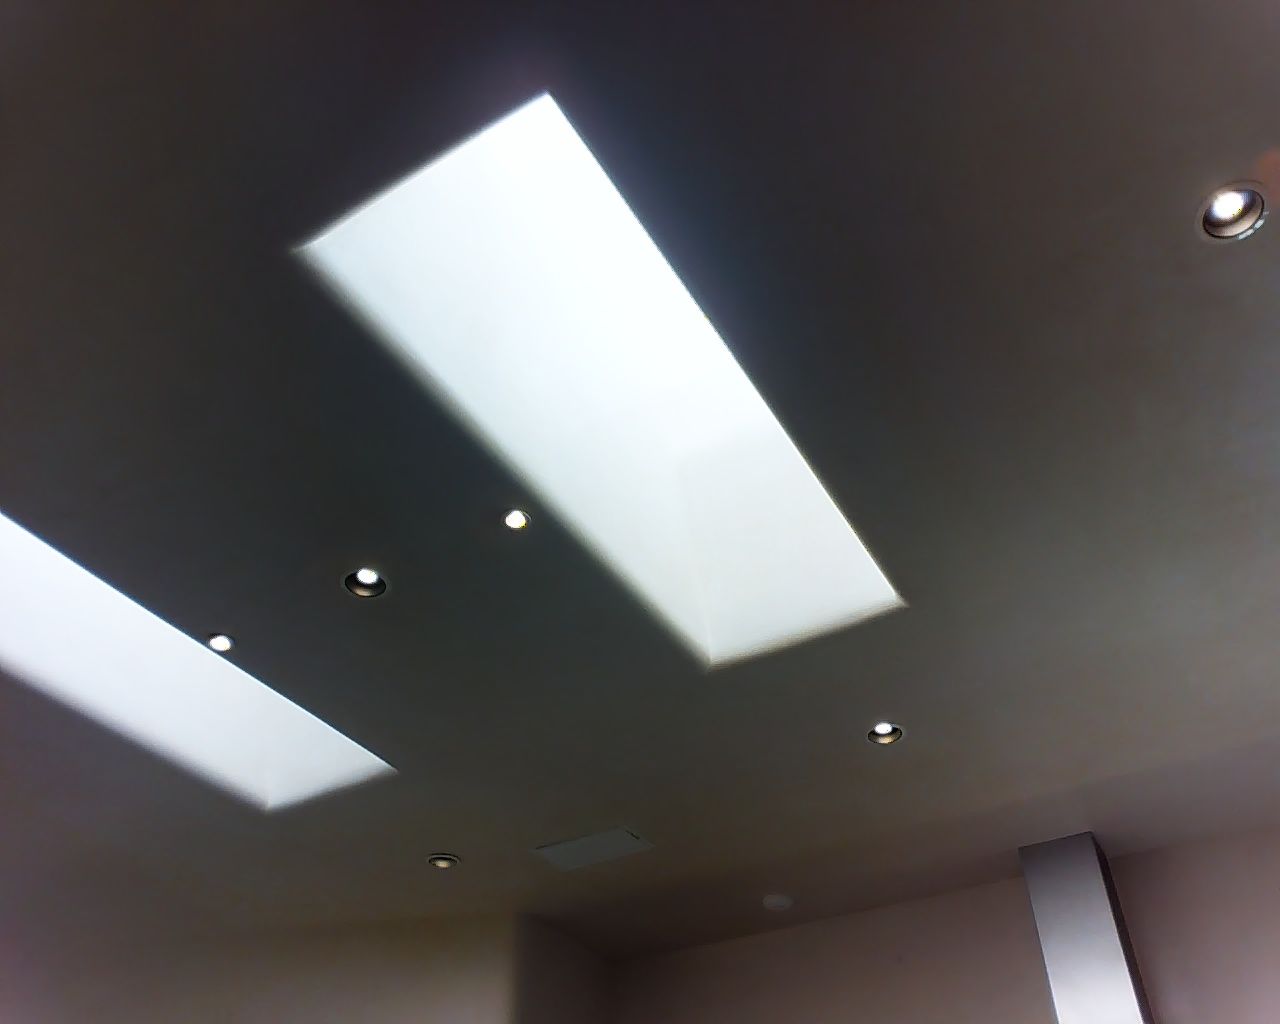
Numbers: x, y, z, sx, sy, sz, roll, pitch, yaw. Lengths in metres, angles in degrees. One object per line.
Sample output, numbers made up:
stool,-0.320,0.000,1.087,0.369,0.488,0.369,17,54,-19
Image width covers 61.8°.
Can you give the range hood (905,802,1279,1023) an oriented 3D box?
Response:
range hood,1.469,1.631,3.280,1.040,1.180,0.380,-21,-46,22
